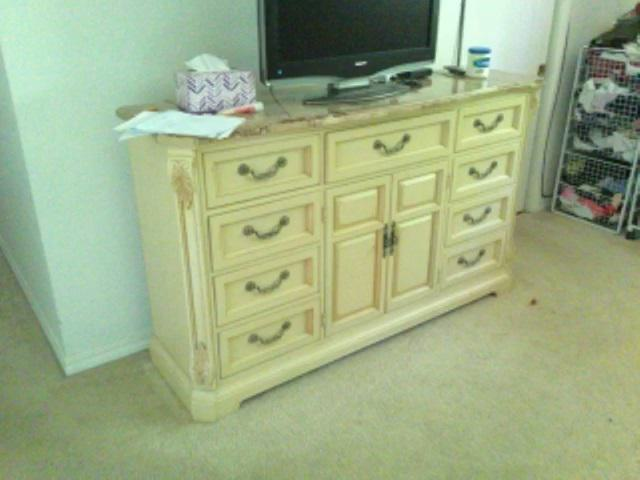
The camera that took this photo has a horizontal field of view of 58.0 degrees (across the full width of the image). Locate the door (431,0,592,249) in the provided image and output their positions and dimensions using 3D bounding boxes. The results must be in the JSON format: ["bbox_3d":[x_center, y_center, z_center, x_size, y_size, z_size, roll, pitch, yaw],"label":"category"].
[{"bbox_3d":[0.980,-0.960,2.960,0.860,1.910,0.190,-14,24,-22],"label":"door"}]
